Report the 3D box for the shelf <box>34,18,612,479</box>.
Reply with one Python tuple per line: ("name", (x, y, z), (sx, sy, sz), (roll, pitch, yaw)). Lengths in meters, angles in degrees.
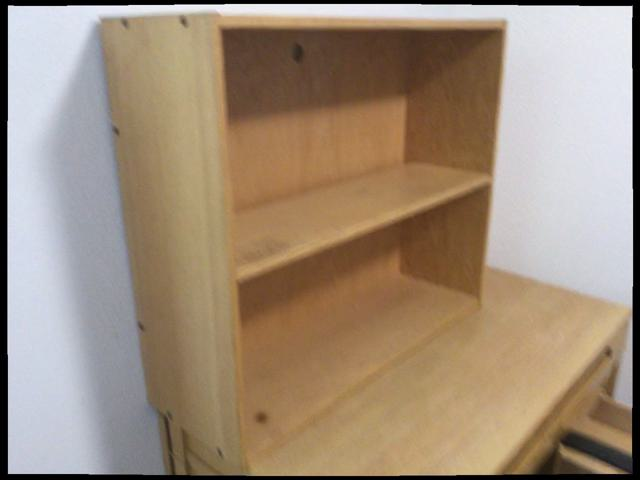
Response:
("shelf", (0.040, -0.080, 1.350), (0.959, 0.801, 0.759), (-19, 27, -41))
